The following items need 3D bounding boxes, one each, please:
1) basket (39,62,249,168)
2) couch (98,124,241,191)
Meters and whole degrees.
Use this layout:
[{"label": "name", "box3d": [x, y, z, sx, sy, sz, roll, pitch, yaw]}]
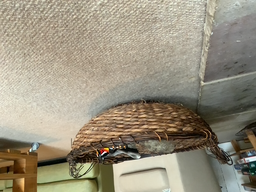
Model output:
[{"label": "basket", "box3d": [0.030, 0.170, 0.990, 0.620, 0.190, 0.740, 10, 152, -39]}, {"label": "couch", "box3d": [0.350, 0.750, 1.860, 0.840, 0.750, 0.840, 11, 152, -40]}]
